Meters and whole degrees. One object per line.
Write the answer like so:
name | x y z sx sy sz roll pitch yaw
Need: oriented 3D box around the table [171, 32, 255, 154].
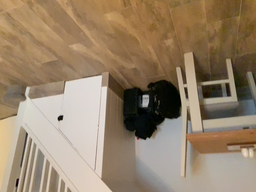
table | 1.020 0.060 1.920 1.030 0.750 0.990 -8 156 19
